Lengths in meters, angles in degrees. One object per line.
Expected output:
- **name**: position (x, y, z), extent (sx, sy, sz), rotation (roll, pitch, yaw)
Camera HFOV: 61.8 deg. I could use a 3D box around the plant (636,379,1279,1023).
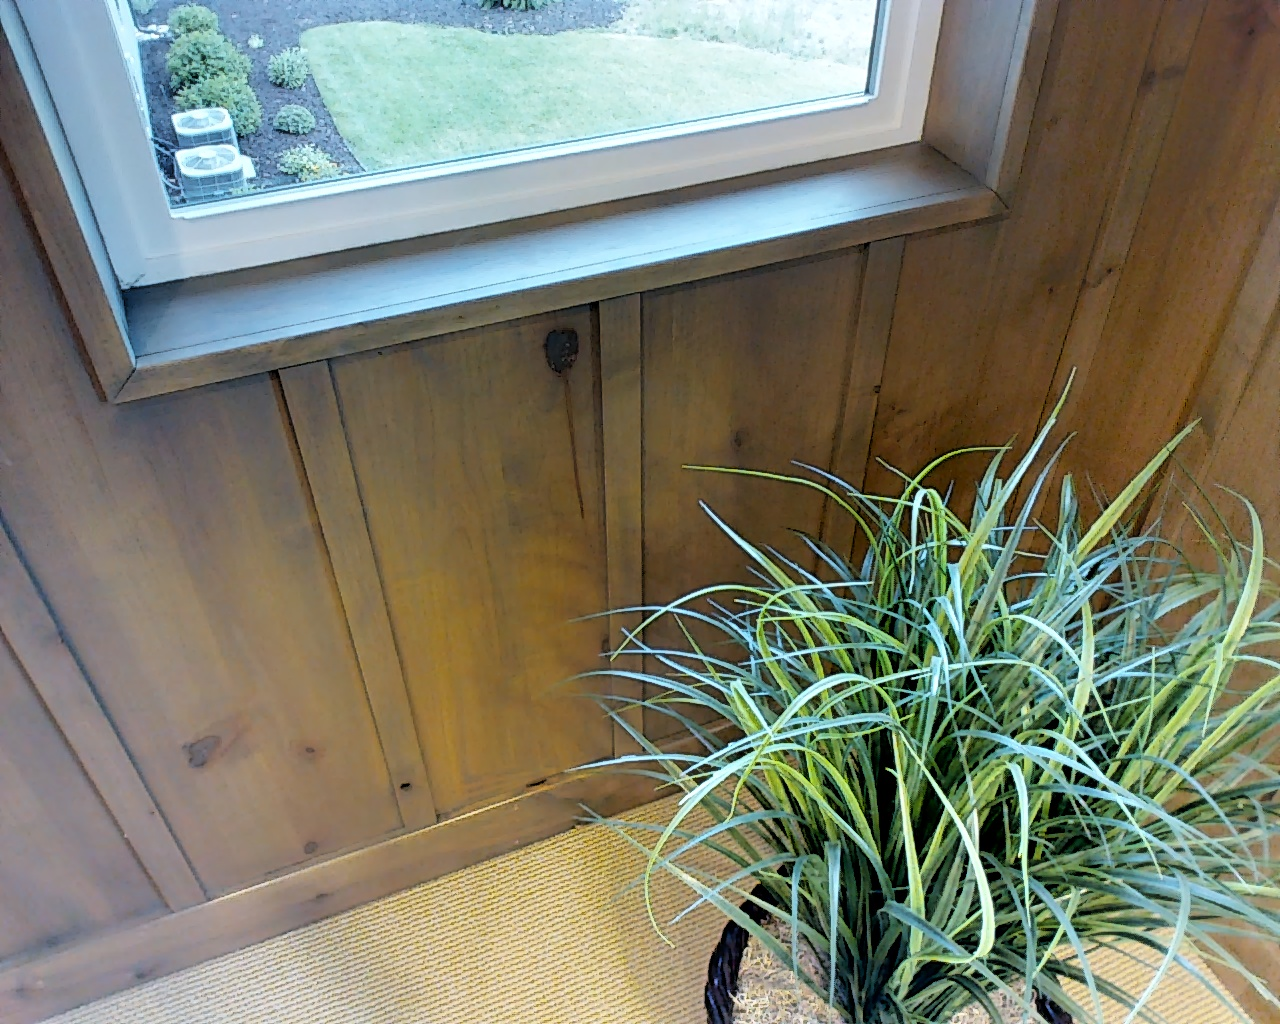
- **plant**: position (0.270, 0.410, 0.970), extent (0.390, 0.880, 0.460), rotation (-16, 44, -17)
